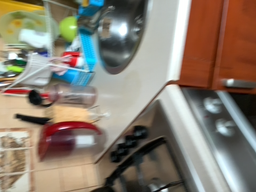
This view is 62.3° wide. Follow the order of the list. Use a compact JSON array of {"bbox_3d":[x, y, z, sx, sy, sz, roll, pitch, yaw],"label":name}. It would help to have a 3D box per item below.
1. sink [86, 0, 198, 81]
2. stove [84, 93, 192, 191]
[{"bbox_3d":[0.030,-0.320,0.890,0.460,0.220,0.460,15,101,57],"label":"sink"},{"bbox_3d":[0.020,0.390,0.610,0.530,0.020,0.600,-52,46,43],"label":"stove"}]
